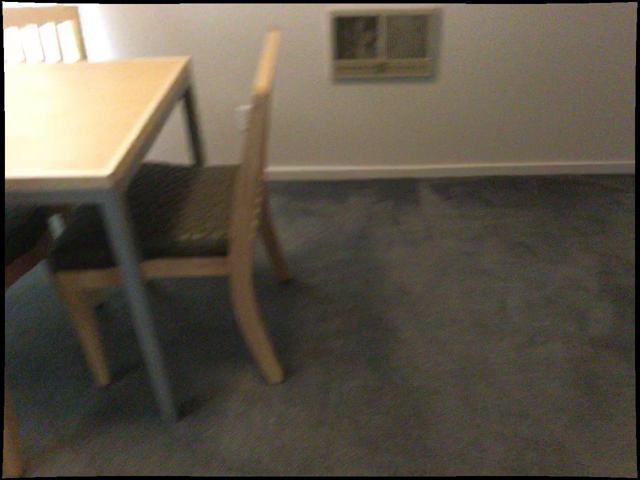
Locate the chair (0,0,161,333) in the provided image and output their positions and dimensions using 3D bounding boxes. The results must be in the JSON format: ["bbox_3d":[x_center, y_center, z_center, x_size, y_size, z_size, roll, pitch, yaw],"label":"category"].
[{"bbox_3d":[-1.047,-0.271,2.030,0.569,0.921,0.721,-8,41,4],"label":"chair"}]

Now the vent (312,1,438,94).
[{"bbox_3d":[0.229,-0.772,2.330,0.479,0.300,0.050,-5,36,7],"label":"vent"}]

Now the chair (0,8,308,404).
[{"bbox_3d":[-0.439,-0.080,1.680,0.718,0.932,0.611,-3,37,3],"label":"chair"}]
